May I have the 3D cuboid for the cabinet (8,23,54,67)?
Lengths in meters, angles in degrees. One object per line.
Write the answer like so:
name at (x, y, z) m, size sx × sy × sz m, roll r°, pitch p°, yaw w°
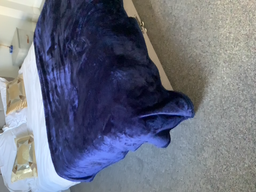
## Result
cabinet at (-1.500, -0.760, 3.270) m, size 0.430 × 0.510 × 0.390 m, roll -41°, pitch 59°, yaw 41°

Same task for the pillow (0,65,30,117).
pillow at (-1.410, -0.060, 2.640) m, size 0.310 × 0.170 × 0.540 m, roll 103°, pitch 147°, yaw -65°

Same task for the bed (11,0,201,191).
bed at (-0.620, -0.050, 2.190) m, size 2.130 × 0.530 × 1.740 m, roll -41°, pitch 59°, yaw 41°
